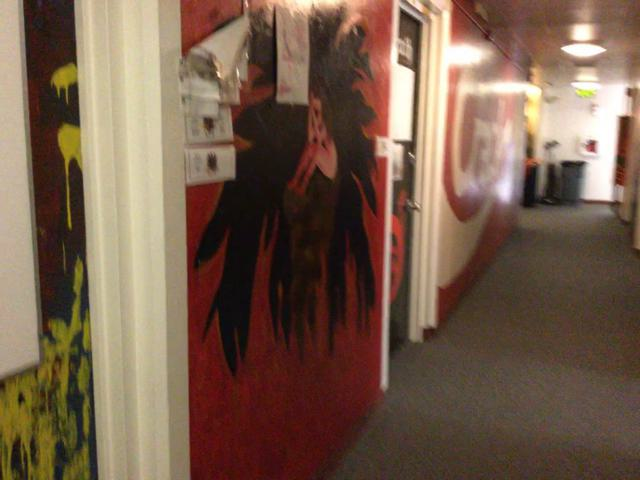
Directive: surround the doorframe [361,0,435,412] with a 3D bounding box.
[{"bbox_3d":[0.430,-0.270,3.120,0.150,2.200,0.770,4,13,24],"label":"doorframe"}]
